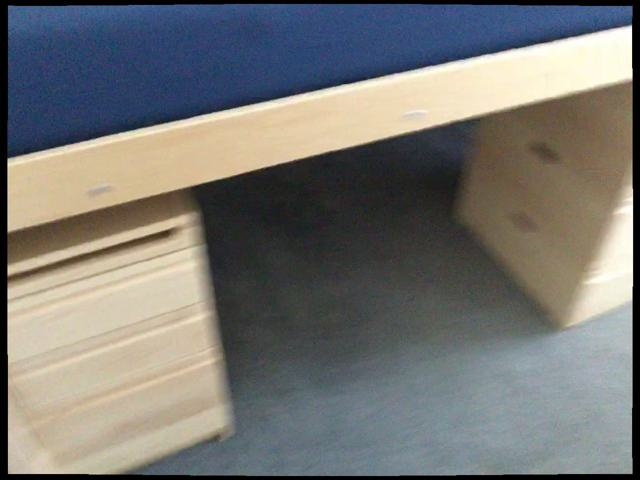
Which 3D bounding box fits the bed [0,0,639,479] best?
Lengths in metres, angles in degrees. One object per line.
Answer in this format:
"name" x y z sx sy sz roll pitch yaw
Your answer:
"bed" 0.070 -0.491 1.800 2.287 1.121 1.571 -16 44 -17
